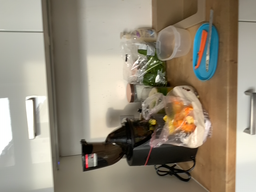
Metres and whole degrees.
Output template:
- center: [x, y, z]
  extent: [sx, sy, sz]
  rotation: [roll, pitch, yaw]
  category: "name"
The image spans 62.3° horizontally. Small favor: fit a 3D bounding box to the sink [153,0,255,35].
- center: [0.300, -0.480, 0.970]
  extent: [0.510, 0.200, 0.300]
  rotation: [-156, 64, -74]
  category: "sink"
